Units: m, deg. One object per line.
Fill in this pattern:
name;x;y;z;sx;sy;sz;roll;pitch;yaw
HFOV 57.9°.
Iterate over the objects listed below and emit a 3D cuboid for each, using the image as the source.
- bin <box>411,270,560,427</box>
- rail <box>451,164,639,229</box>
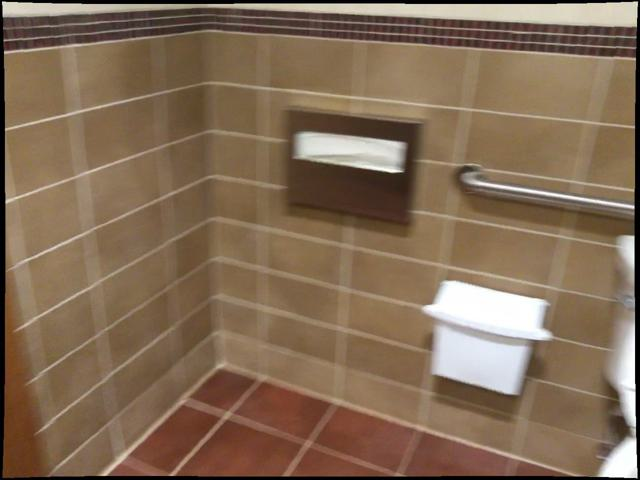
bin;0.460;0.300;1.640;0.340;0.330;0.150;13;28;23
rail;0.789;-0.060;1.340;0.959;0.060;0.080;13;28;23
